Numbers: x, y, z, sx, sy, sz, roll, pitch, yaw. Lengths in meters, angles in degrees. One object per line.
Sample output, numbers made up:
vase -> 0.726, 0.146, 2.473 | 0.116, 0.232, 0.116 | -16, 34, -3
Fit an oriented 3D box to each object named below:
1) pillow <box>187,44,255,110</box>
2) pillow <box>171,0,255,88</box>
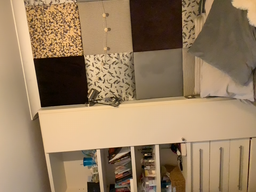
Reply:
pillow -> 0.820, -0.170, 1.850 | 0.240, 0.420, 0.430 | -92, 19, -80
pillow -> 0.770, -0.470, 1.630 | 0.620, 0.560, 0.280 | -26, 8, 34
